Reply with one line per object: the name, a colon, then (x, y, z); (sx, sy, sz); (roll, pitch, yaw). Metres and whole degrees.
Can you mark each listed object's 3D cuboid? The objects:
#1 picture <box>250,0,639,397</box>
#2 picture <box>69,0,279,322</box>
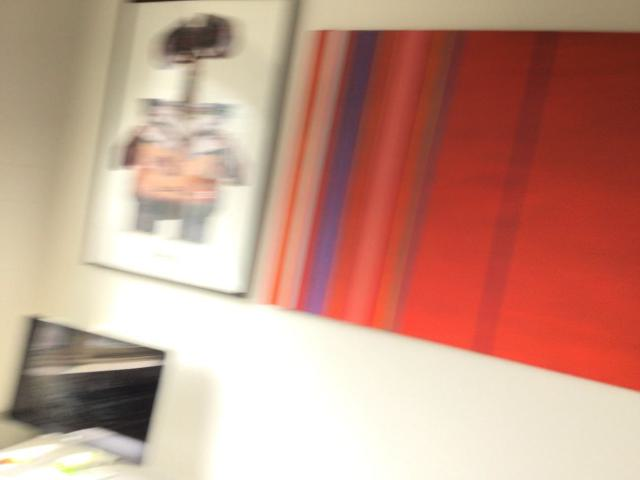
picture: (0.390, -0.130, 1.630); (1.290, 0.990, 0.080); (2, -2, 26)
picture: (-0.530, -0.330, 2.040); (0.700, 1.130, 0.100); (6, 0, 23)
